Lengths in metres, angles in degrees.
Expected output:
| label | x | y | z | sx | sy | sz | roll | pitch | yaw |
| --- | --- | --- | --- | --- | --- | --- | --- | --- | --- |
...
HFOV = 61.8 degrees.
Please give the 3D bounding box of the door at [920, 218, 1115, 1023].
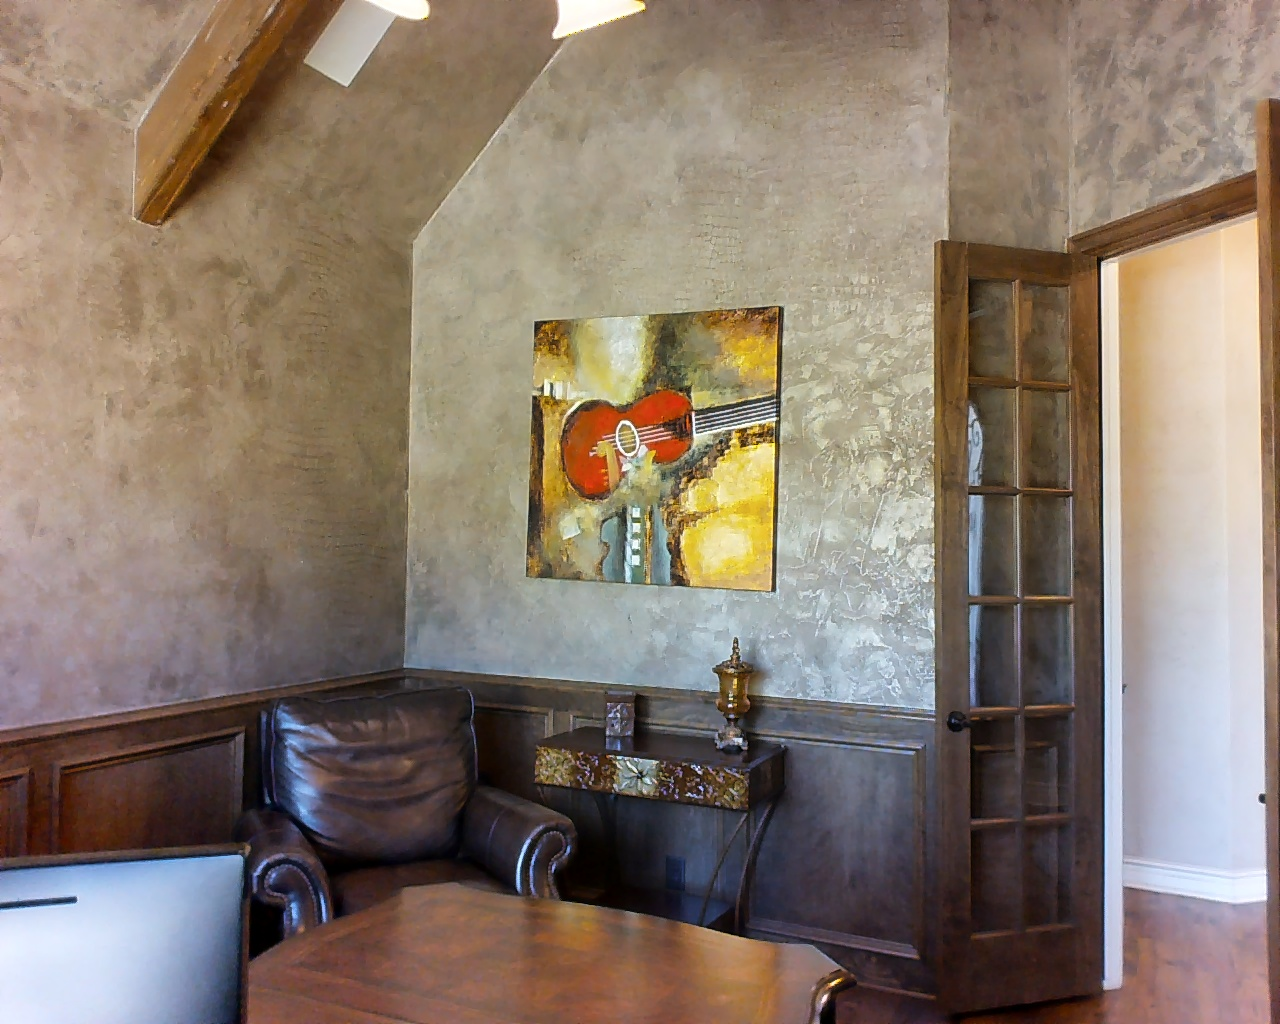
| label | x | y | z | sx | sy | sz | roll | pitch | yaw |
| --- | --- | --- | --- | --- | --- | --- | --- | --- | --- |
| door | 1.240 | 0.360 | 3.520 | 0.630 | 2.570 | 0.160 | 2 | -3 | -19 |
